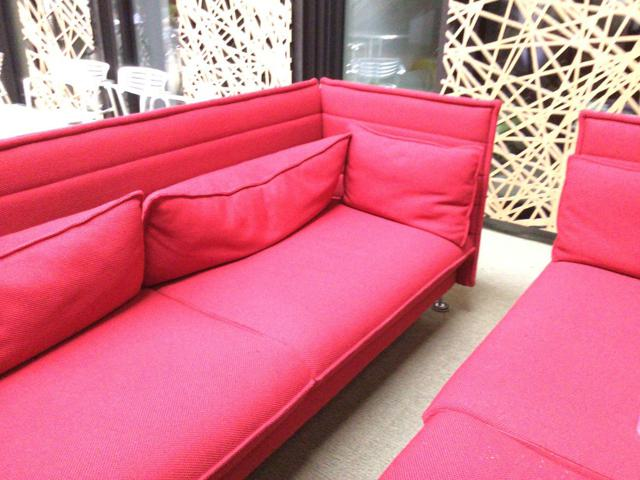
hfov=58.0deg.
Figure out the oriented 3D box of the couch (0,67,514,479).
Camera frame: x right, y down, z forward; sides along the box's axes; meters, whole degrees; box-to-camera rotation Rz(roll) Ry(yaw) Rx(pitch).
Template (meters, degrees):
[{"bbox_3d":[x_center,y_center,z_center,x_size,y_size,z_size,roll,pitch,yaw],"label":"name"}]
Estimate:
[{"bbox_3d":[-0.310,0.090,1.710,0.960,1.060,2.430,13,22,31],"label":"couch"}]
